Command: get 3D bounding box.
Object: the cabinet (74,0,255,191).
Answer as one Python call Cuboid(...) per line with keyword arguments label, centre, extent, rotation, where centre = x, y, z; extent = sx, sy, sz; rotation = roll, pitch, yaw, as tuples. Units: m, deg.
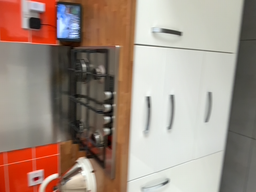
Cuboid(label="cabinet", centre=(0.200, 0.000, 1.330), extent=(0.590, 0.900, 1.590), rotation=(18, 109, 55))
